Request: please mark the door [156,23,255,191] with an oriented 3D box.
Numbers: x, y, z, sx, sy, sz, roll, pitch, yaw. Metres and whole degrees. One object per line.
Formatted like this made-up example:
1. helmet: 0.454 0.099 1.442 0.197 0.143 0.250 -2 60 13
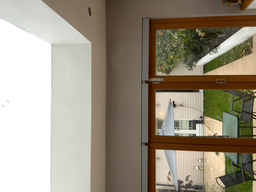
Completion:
1. door: 1.340 0.240 2.650 0.060 1.940 2.270 1 -90 -83
